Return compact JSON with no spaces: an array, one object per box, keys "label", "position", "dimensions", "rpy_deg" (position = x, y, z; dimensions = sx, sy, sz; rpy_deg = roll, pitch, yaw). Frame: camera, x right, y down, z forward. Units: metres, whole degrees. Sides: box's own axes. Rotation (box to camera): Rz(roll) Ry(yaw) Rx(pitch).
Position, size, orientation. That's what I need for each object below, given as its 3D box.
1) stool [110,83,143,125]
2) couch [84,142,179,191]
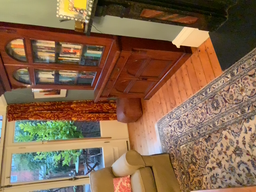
[{"label":"stool","position":[-0.050,0.150,3.720],"dimensions":[0.550,0.350,0.550],"rpy_deg":[128,138,-58]},{"label":"couch","position":[0.000,1.400,2.740],"dimensions":[1.120,0.900,1.230],"rpy_deg":[123,142,-55]}]
